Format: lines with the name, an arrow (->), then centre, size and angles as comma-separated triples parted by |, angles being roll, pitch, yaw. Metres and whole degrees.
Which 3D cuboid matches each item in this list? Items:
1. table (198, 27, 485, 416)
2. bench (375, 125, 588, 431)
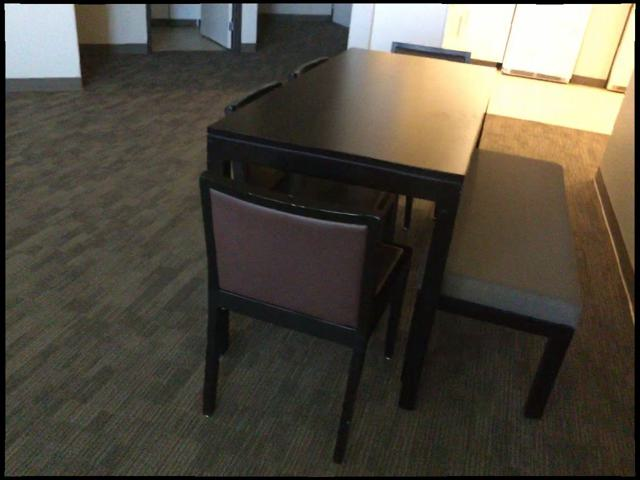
table -> 0.220, -0.281, 2.440 | 0.729, 0.851, 1.751 | 11, 30, 11
bench -> 0.679, 0.020, 2.280 | 0.529, 0.511, 1.310 | 14, 31, 16
